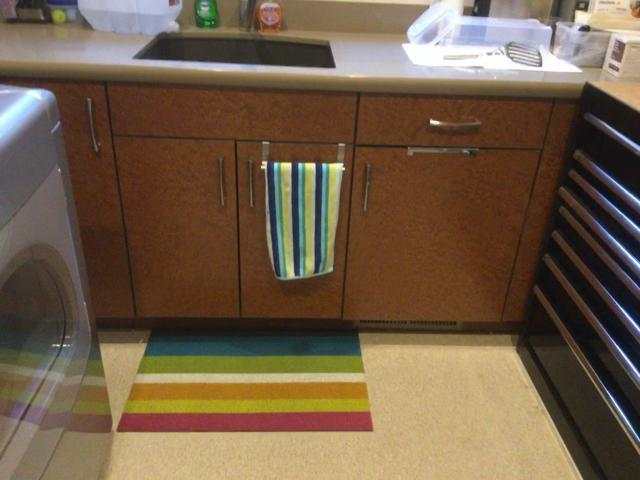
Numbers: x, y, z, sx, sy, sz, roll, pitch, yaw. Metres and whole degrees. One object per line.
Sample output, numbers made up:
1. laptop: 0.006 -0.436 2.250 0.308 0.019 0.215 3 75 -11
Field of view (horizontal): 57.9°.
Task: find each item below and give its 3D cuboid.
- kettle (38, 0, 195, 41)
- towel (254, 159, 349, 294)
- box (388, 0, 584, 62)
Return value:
1. kettle: -0.610 -0.770 1.770 0.400 0.250 0.280 1 27 -4
2. towel: -0.060 -0.030 1.650 0.250 0.390 0.070 1 27 -4
3. box: 0.480 -0.660 1.790 0.460 0.110 0.440 1 27 -4
